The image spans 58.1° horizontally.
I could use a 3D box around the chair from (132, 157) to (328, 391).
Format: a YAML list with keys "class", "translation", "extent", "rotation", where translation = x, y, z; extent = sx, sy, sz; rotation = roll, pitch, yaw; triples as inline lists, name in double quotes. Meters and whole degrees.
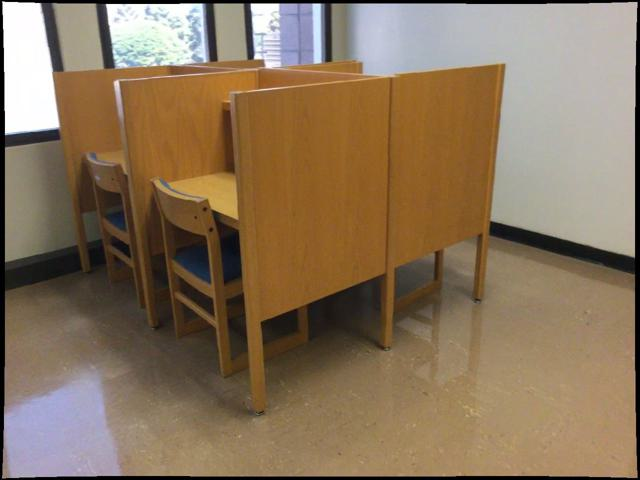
- class: "chair"
  translation: [-0.429, 0.100, 2.740]
  extent: [0.599, 0.802, 0.730]
  rotation: [-15, 23, -31]

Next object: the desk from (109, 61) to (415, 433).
- class: "desk"
  translation: [-0.259, -0.100, 2.590]
  extent: [0.879, 1.273, 1.019]
  rotation: [-15, 23, -31]

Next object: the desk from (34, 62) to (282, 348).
- class: "desk"
  translation: [-0.918, -0.311, 3.260]
  extent: [0.869, 1.253, 1.149]
  rotation: [-15, 23, -31]

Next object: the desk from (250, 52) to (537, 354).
- class: "desk"
  translation: [0.339, -0.311, 3.030]
  extent: [0.928, 1.233, 1.059]
  rotation: [-15, 23, -31]
